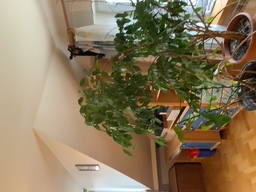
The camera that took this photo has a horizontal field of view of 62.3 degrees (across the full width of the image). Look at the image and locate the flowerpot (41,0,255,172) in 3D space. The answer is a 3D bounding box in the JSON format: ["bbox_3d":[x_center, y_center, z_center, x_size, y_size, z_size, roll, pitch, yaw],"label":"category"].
[{"bbox_3d":[0.630,-0.110,1.300,0.660,1.900,0.910,95,175,-50],"label":"flowerpot"}]
